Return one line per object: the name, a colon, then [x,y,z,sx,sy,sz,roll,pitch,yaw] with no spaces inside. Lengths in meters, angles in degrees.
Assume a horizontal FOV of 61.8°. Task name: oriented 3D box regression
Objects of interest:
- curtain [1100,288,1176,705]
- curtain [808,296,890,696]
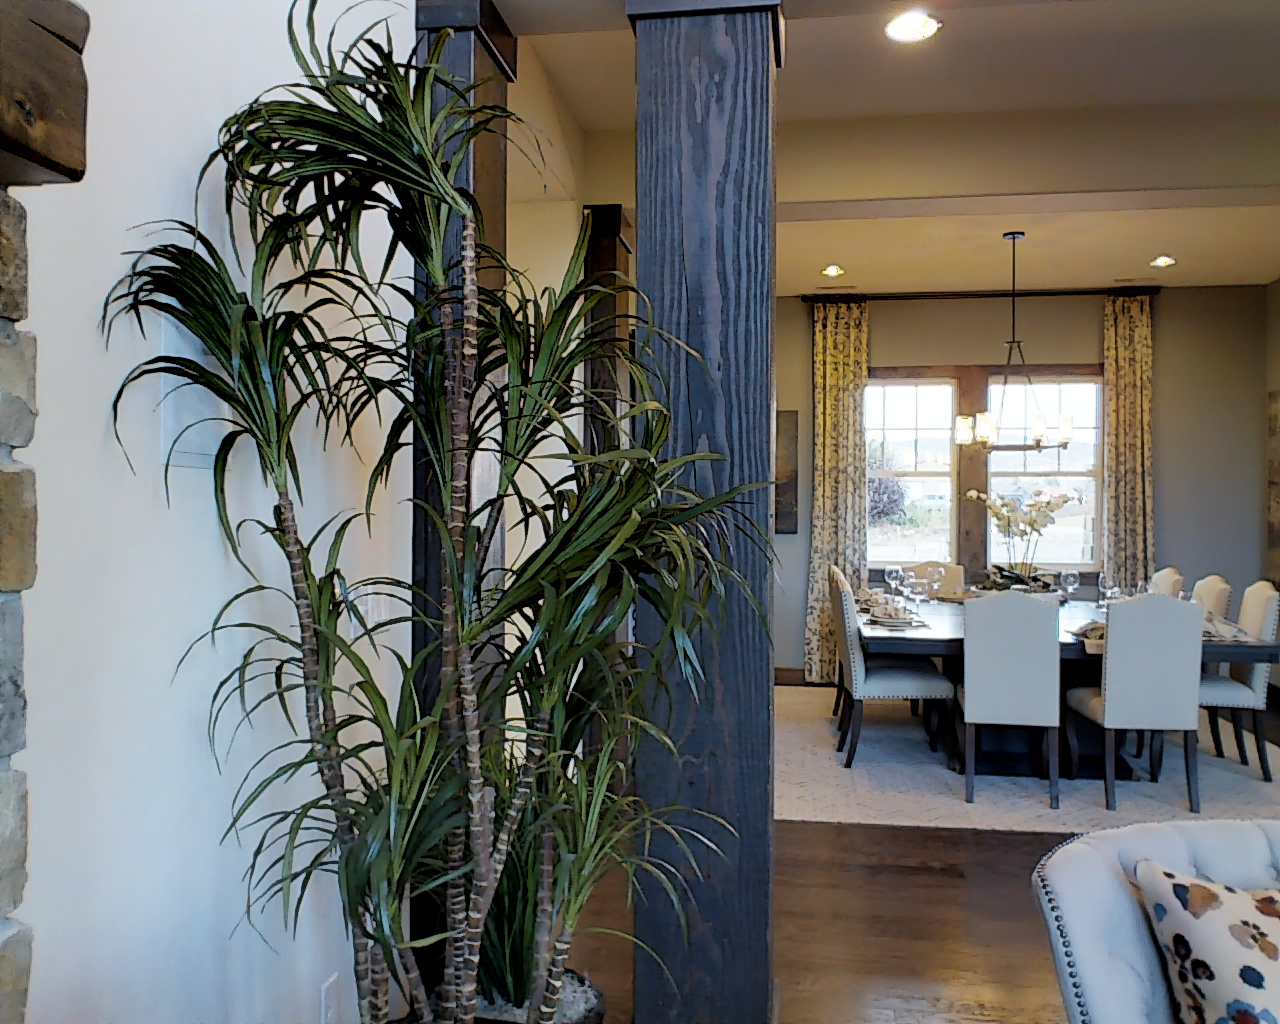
curtain: [3.630,-0.110,7.810,0.470,2.990,0.180,0,0,10]
curtain: [1.590,-0.120,8.170,0.600,2.990,0.220,0,0,9]
